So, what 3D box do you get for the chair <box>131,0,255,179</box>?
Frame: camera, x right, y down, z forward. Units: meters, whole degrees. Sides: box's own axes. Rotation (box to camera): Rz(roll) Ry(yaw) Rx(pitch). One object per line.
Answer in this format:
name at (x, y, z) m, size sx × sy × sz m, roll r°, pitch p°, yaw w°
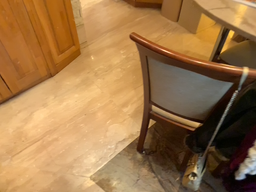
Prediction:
chair at (0.330, -0.010, 1.220) m, size 0.410 × 0.970 × 0.520 m, roll 22°, pitch 54°, yaw 15°
